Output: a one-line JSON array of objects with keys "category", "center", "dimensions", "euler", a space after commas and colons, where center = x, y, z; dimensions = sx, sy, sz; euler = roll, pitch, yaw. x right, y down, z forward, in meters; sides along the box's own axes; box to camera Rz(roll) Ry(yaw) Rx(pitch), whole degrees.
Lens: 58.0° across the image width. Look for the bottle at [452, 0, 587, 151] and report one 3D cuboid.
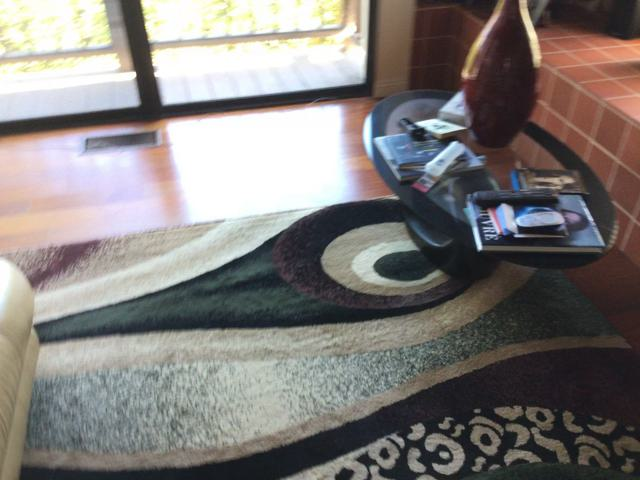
[{"category": "bottle", "center": [0.610, -0.540, 1.820], "dimensions": [0.240, 0.460, 0.200], "euler": [-6, 33, -15]}]
